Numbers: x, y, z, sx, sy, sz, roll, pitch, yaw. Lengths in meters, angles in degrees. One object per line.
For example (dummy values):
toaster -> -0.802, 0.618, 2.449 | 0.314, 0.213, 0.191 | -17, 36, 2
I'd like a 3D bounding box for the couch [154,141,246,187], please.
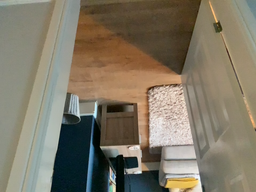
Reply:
couch -> 1.080, 1.180, 3.550 | 1.210, 0.460, 1.050 | -3, 148, 3
